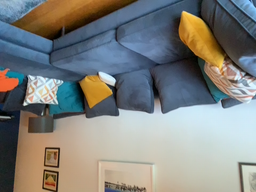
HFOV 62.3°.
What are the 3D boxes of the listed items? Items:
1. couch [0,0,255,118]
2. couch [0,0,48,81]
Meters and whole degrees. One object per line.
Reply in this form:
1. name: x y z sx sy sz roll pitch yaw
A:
1. couch: -0.170 -0.290 2.230 3.090 0.880 1.020 -7 168 36
2. couch: -1.430 -0.500 2.200 1.110 0.480 0.570 -7 168 35
